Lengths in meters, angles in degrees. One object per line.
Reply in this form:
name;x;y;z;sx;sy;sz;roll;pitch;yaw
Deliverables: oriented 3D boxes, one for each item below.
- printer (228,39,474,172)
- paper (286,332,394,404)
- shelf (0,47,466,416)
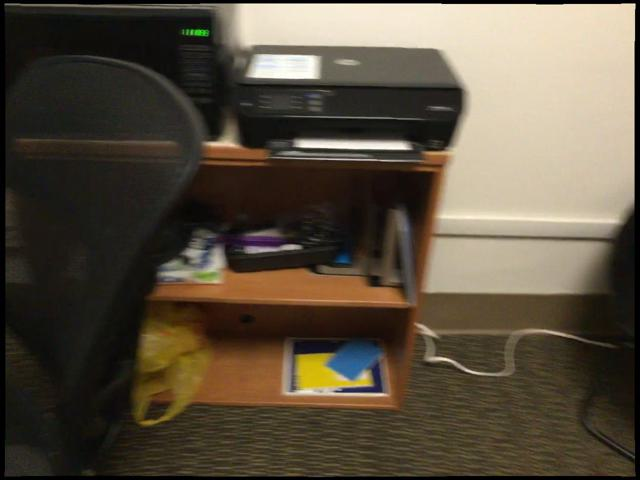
printer;0.050;-0.301;1.240;0.449;0.160;0.350;1;32;-3
paper;0.050;0.361;1.650;0.289;0.030;0.250;1;32;-3
shelf;-0.220;0.010;1.470;0.958;0.861;0.360;1;32;-3
